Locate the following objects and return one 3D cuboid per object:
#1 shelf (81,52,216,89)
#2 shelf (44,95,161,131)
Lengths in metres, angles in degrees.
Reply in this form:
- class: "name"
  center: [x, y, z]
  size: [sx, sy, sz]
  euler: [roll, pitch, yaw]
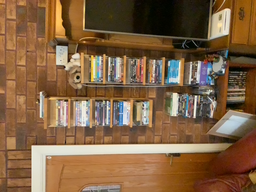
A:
- class: "shelf"
  center: [0.180, -0.200, 1.760]
  size: [0.170, 1.100, 0.230]
  euler: [-158, 70, -77]
- class: "shelf"
  center: [-0.190, 0.140, 1.710]
  size: [0.150, 0.890, 0.250]
  euler: [-158, 70, -77]
